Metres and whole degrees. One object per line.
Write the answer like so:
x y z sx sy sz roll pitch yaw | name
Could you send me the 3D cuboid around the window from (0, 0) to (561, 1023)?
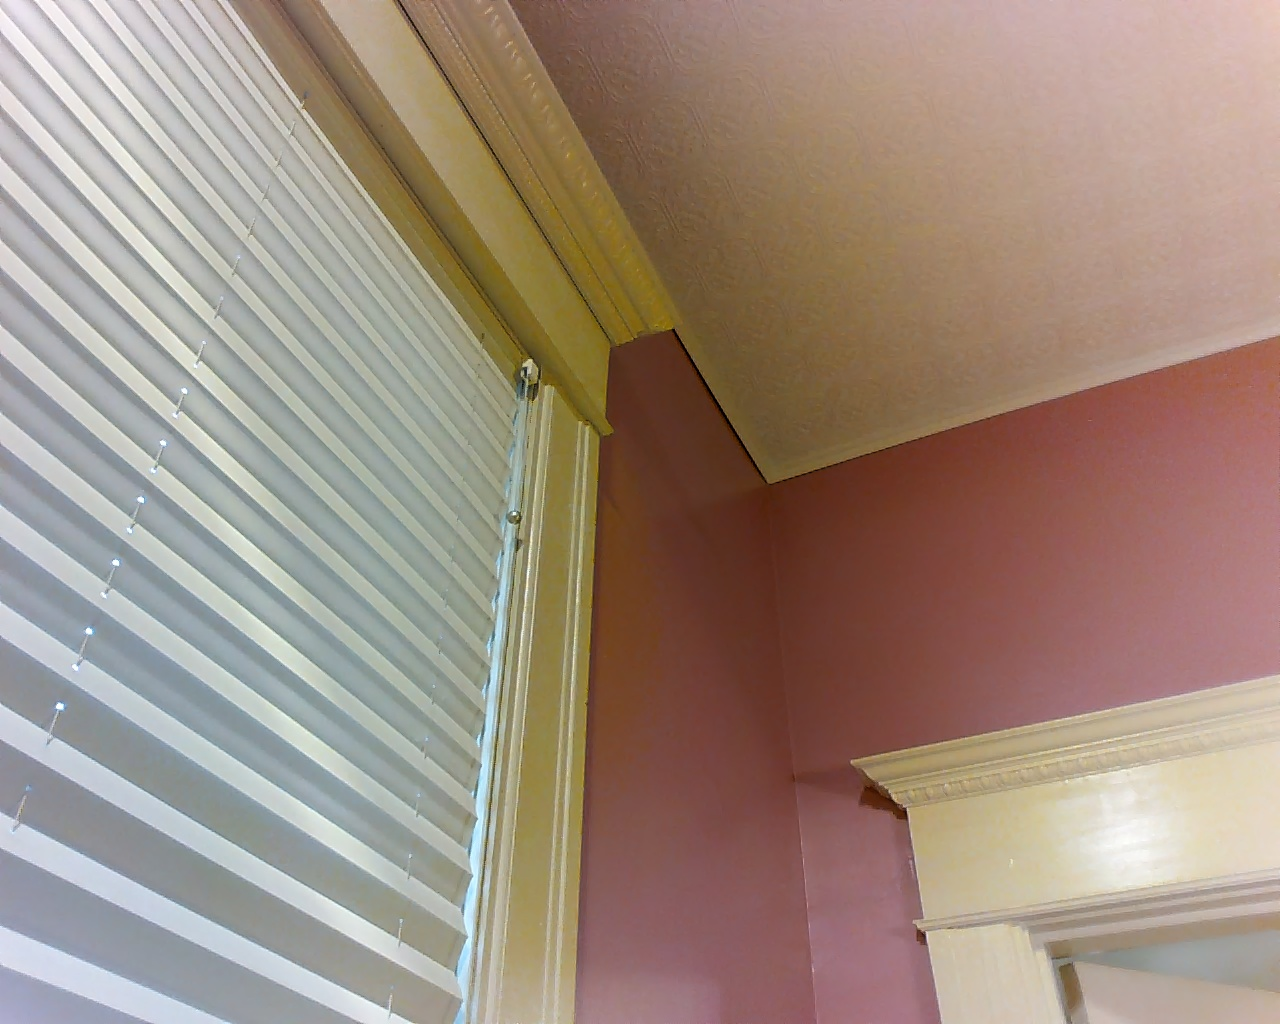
-0.280 0.050 0.560 0.040 1.260 0.800 -17 -45 18 | window
